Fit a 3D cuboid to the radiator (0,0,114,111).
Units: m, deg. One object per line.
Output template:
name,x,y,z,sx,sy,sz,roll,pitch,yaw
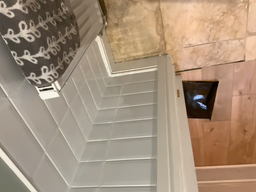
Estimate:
radiator,-0.220,-0.400,0.650,0.090,0.620,0.630,-7,126,13
